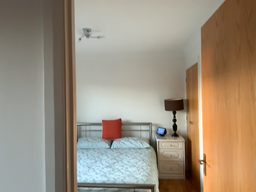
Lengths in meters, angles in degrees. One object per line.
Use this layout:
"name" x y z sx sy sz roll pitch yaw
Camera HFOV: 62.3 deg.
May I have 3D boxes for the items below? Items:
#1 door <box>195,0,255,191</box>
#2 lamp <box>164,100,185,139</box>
"door" 0.550 0.510 1.240 0.050 1.990 0.760 -1 0 1
"lamp" 0.890 0.440 4.110 0.350 0.720 0.340 -1 0 7
